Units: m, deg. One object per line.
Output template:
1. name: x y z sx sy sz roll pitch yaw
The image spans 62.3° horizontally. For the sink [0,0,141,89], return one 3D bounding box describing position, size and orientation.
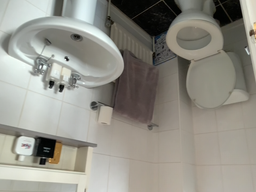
1. sink: -0.280 -0.250 1.090 0.420 0.160 0.580 -16 151 39
